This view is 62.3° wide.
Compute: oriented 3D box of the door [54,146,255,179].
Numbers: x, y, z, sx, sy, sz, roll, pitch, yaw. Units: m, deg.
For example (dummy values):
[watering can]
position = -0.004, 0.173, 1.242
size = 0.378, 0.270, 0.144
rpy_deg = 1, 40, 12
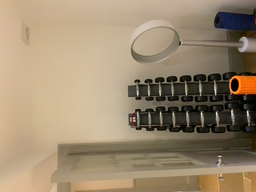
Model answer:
[door]
position = 0.440, 0.550, 1.890
size = 0.790, 1.970, 0.040
rpy_deg = 146, 123, -80
